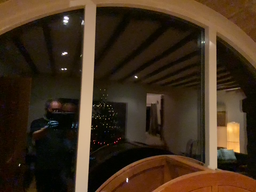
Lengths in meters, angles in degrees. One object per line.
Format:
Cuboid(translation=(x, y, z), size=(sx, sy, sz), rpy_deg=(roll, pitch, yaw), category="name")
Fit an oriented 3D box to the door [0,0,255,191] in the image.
Cuboid(translation=(0.110, 0.500, 1.340), size=(2.410, 2.420, 0.090), rpy_deg=(4, -6, -19), category="door")
